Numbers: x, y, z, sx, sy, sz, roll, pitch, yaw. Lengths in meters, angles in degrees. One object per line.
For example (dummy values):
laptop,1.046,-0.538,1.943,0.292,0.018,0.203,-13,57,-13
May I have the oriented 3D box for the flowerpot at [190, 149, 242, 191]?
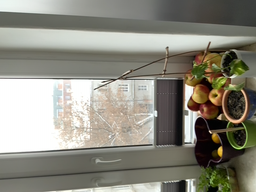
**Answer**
flowerpot,0.420,0.400,1.040,0.190,0.140,0.210,-144,55,-75
